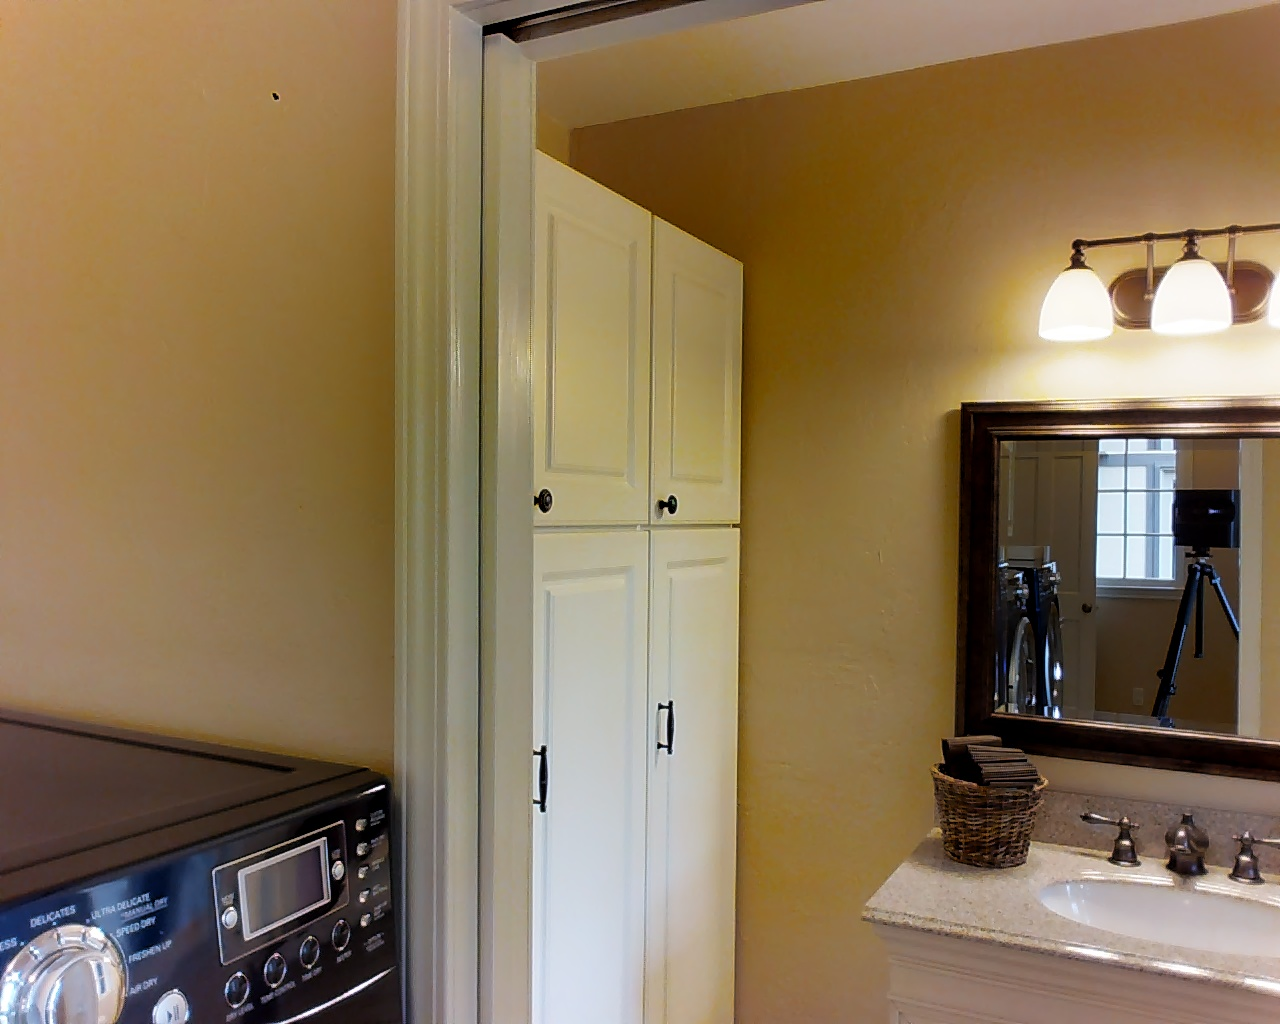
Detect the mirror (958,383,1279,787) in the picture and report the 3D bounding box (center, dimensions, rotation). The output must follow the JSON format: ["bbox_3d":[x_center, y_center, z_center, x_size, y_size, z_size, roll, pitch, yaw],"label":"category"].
[{"bbox_3d":[1.050,0.130,2.030,0.860,0.730,0.050,1,0,27],"label":"mirror"}]

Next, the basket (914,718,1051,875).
[{"bbox_3d":[0.670,0.540,2.090,0.210,0.220,0.260,1,-1,27],"label":"basket"}]
